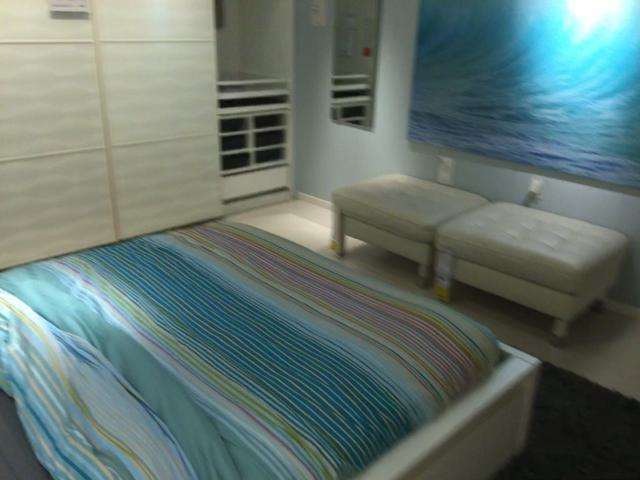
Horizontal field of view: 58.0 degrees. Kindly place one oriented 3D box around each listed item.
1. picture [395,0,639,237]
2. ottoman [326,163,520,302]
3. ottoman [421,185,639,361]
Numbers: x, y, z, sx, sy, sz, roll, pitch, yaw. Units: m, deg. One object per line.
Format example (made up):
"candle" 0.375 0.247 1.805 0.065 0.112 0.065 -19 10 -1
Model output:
"picture" 1.190 -0.950 2.580 0.200 1.710 1.930 -19 29 -39
"ottoman" 0.560 -0.090 3.290 0.630 0.440 0.850 -19 29 -39
"ottoman" 1.030 0.100 2.790 0.640 0.450 0.820 -19 29 -39
